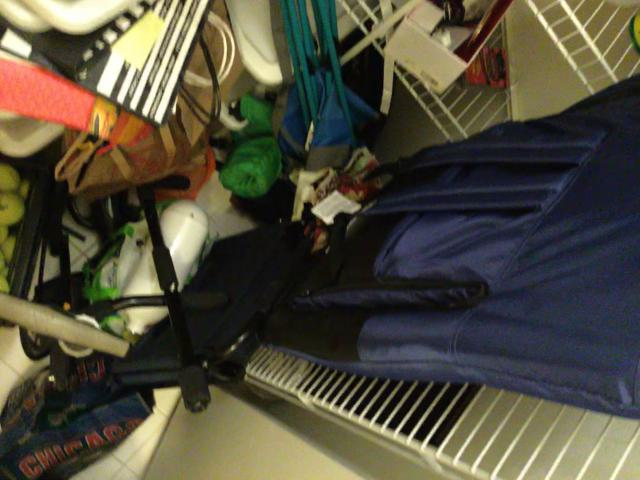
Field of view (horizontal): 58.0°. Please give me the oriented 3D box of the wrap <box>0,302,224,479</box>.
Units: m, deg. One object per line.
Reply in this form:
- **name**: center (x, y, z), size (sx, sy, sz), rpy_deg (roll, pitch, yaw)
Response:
- **wrap**: center (-0.510, 0.400, 1.280), size (0.420, 0.310, 0.340), rpy_deg (-47, 13, -22)
